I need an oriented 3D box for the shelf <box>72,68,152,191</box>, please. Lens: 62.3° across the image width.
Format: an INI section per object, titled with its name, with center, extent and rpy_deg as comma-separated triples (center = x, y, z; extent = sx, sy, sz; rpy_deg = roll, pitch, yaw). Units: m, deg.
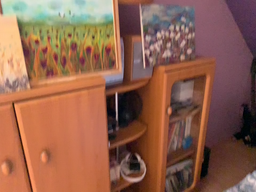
[shelf]
center = -0.090, 0.410, 1.380
extent = 0.350, 1.110, 0.290
rpy_deg = -15, 24, -34
